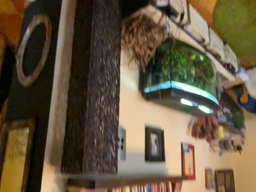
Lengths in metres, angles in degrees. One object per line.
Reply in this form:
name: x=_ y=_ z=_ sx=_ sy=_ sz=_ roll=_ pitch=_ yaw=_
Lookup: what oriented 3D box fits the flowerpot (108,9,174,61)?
flowerpot: x=0.110 y=-0.480 z=1.770 sx=0.420 sy=0.170 sz=0.340 roll=-11 pitch=160 yaw=38
